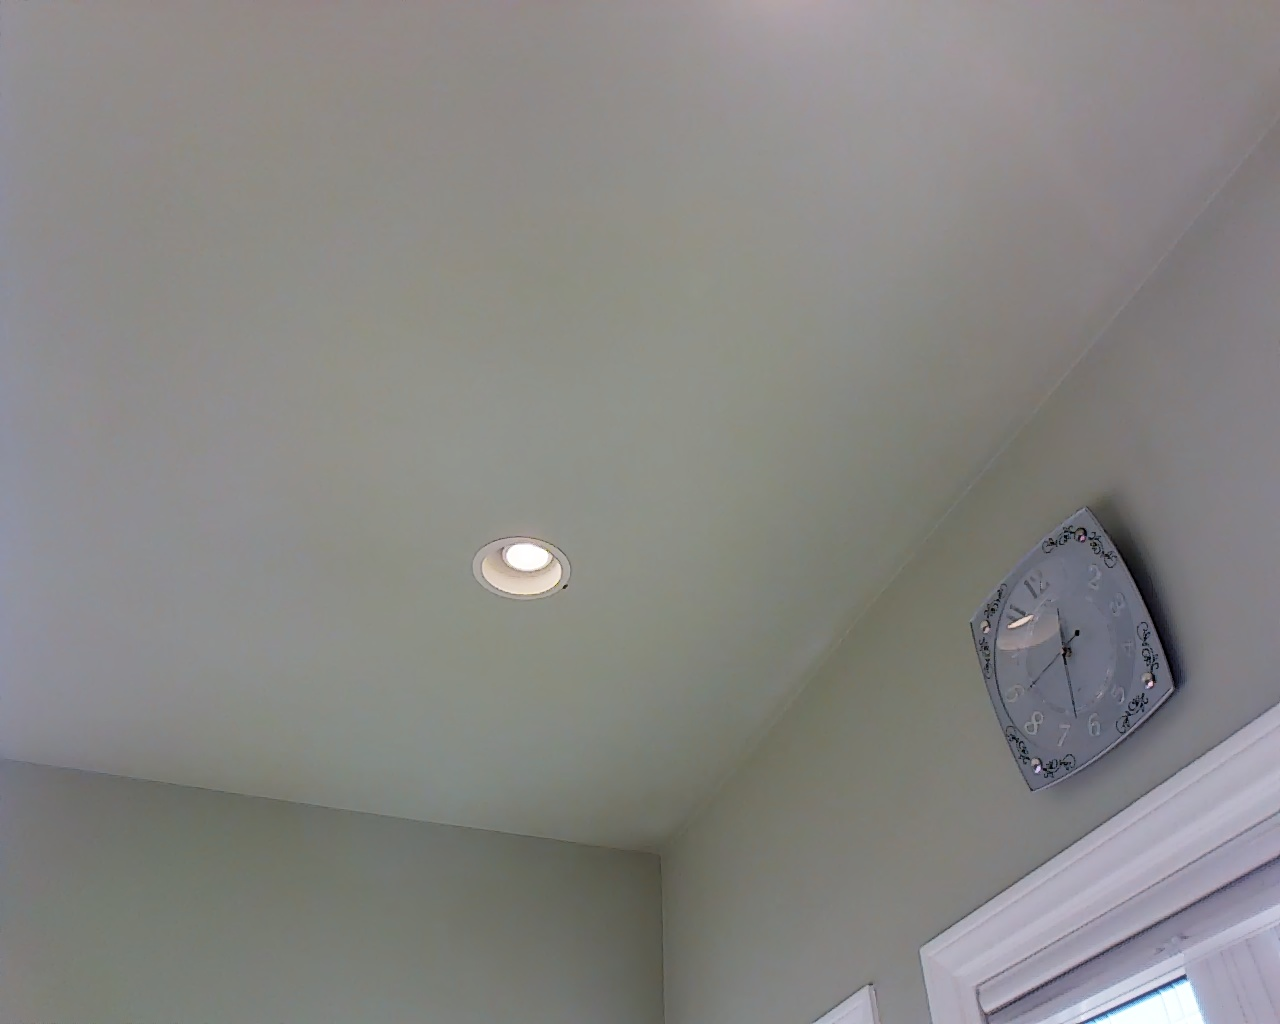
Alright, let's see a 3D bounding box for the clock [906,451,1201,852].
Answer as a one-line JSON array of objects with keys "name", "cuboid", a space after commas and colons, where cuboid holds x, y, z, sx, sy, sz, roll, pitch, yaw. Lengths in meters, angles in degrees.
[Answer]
[{"name": "clock", "cuboid": [0.560, 0.210, 1.550, 0.060, 0.390, 0.460, 12, -43, -14]}]
